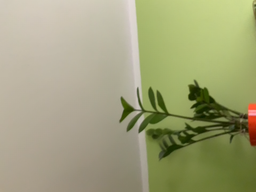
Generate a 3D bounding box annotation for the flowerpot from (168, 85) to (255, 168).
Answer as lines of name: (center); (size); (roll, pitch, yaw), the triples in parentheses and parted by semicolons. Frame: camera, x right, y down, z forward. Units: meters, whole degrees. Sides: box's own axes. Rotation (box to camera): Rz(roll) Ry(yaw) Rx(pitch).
flowerpot: (0.380, 0.100, 0.730); (0.250, 0.410, 0.230); (10, -102, -56)
